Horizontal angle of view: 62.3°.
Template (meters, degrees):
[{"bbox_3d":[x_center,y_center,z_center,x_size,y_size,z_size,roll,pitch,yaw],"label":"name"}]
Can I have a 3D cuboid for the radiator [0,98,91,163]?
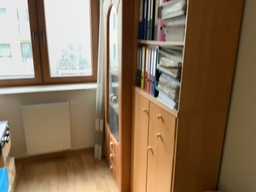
[{"bbox_3d":[-0.980,0.390,2.530,1.020,0.650,0.150,-4,16,-18],"label":"radiator"}]

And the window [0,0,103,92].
[{"bbox_3d":[-1.060,-0.800,2.380,1.540,1.450,0.150,-6,17,-22],"label":"window"}]
